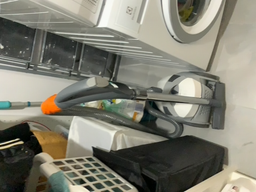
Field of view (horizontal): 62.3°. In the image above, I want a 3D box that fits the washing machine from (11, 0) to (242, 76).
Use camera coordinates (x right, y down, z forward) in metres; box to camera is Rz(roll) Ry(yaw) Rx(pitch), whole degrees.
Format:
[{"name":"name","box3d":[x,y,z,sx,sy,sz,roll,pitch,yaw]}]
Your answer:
[{"name":"washing machine","box3d":[0.050,-0.530,1.090,0.750,0.860,0.620,16,96,40]}]
